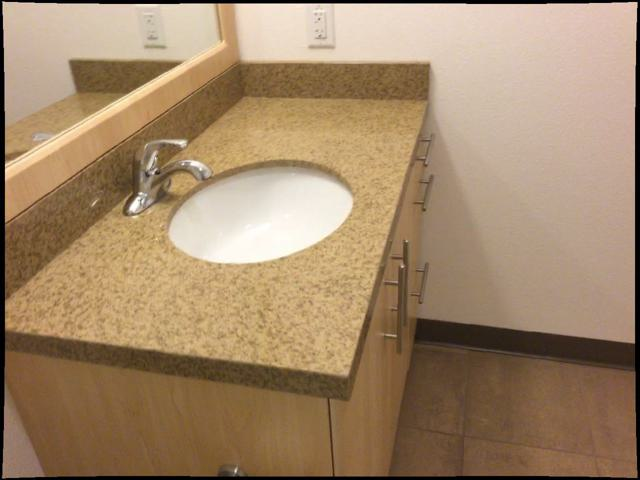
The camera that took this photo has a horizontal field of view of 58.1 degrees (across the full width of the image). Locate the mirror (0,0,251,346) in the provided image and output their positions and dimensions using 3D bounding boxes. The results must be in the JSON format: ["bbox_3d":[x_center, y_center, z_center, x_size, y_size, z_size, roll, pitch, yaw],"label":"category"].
[{"bbox_3d":[-0.399,-0.321,1.190,0.060,0.481,1.111,6,34,14],"label":"mirror"}]

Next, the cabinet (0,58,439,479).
[{"bbox_3d":[-0.090,0.201,1.410,0.589,0.952,1.141,6,34,15],"label":"cabinet"}]
